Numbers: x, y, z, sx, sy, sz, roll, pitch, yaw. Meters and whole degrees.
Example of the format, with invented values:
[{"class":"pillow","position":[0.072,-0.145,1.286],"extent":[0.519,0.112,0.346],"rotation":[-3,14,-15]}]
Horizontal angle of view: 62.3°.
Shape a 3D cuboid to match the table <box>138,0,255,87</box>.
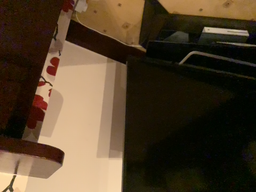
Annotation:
[{"class":"table","position":[0.640,-0.360,1.520],"extent":[1.090,0.340,0.480],"rotation":[3,148,-3]}]
